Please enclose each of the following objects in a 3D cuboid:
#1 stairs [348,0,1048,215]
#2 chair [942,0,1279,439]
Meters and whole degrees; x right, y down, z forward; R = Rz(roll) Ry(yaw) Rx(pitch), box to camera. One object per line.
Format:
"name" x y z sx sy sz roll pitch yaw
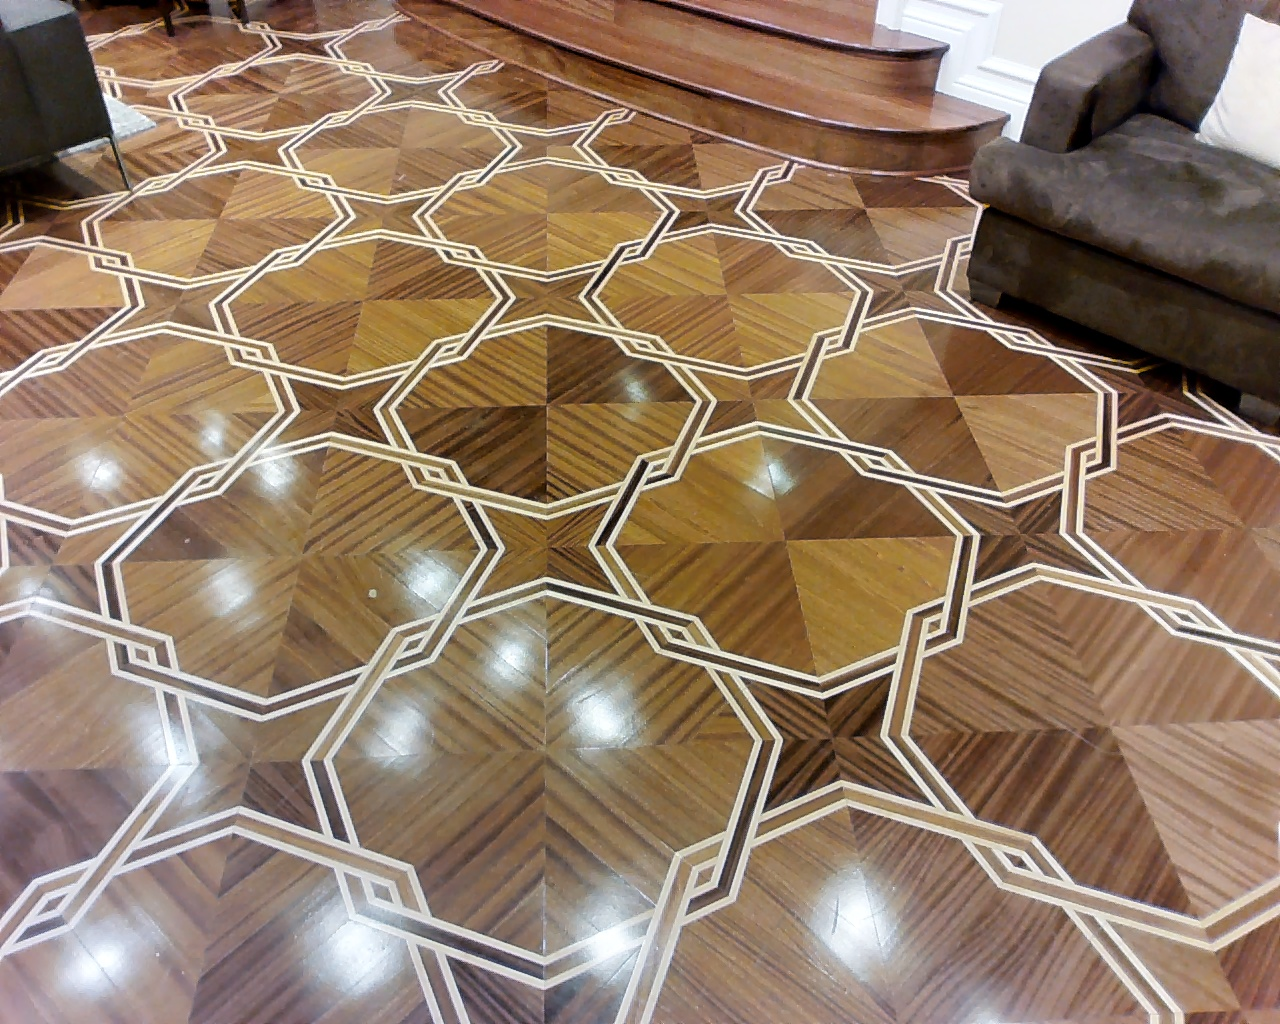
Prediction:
"stairs" -0.090 -2.140 4.440 3.350 0.550 0.670 32 50 30
"chair" 1.670 -1.000 2.990 1.050 0.910 1.060 32 50 30
